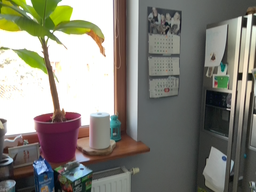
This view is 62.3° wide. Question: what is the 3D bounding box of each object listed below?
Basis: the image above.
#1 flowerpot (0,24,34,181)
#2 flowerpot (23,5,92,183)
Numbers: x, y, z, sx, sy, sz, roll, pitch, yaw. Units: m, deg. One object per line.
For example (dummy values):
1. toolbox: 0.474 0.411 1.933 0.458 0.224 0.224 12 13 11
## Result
1. flowerpot: -0.920 0.040 1.380 0.480 0.950 0.350 -4 10 -28
2. flowerpot: -0.440 -0.010 1.370 0.340 1.000 0.290 -3 10 -21
